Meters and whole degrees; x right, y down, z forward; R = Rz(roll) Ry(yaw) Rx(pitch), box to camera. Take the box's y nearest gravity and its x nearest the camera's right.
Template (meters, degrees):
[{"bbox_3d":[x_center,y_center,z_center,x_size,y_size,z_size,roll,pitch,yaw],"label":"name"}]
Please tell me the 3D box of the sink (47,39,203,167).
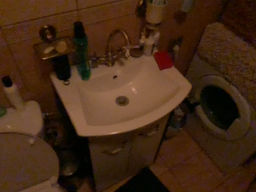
[{"bbox_3d":[-0.020,-0.010,0.900,0.500,0.150,0.380,-22,56,-21],"label":"sink"}]
